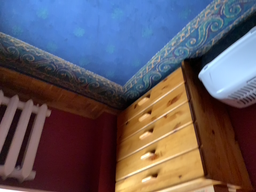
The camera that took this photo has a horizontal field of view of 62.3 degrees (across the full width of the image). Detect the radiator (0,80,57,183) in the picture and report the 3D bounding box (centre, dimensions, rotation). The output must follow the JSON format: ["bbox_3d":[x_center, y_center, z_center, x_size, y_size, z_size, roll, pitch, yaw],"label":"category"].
[{"bbox_3d":[-0.850,0.240,1.520,0.510,0.620,0.200,21,139,-27],"label":"radiator"}]
